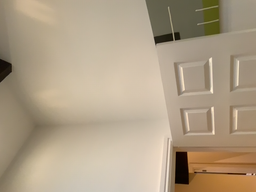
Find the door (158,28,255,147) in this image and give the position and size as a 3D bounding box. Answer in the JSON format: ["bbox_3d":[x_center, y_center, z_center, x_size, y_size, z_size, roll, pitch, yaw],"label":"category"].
[{"bbox_3d":[1.200,-0.030,1.180,0.050,1.950,0.840,-69,-31,-53],"label":"door"}]
